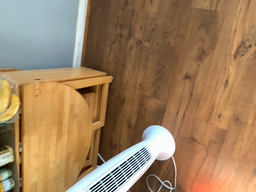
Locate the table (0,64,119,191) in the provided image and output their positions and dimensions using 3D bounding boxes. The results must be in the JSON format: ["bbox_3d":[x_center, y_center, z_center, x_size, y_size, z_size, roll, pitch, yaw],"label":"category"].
[{"bbox_3d":[-0.480,0.280,1.440,0.360,0.740,0.900,18,109,28],"label":"table"}]
